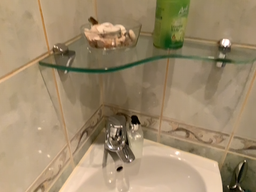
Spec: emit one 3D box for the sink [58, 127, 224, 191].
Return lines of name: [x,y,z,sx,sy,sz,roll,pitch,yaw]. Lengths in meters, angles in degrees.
sink: [0.030,0.330,0.600,0.420,0.150,0.420,12,35,16]
